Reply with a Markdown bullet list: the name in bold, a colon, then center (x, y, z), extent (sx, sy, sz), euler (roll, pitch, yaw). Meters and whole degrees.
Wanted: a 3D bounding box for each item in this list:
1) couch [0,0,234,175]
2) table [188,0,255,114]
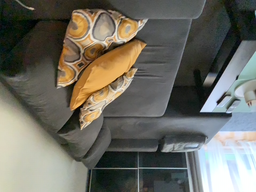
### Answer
- **couch**: center (-0.180, 0.060, 1.920), extent (1.100, 0.810, 2.450), euler (0, 150, 2)
- **table**: center (0.900, -0.260, 1.700), extent (0.580, 0.450, 0.910), euler (0, 150, 2)
